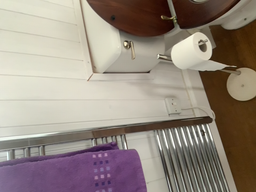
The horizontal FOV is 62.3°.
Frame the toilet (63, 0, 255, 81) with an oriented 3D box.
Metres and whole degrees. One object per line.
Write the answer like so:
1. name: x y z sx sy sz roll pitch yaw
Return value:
1. toilet: 0.240 -0.450 0.910 0.660 0.810 0.520 -31 66 48
